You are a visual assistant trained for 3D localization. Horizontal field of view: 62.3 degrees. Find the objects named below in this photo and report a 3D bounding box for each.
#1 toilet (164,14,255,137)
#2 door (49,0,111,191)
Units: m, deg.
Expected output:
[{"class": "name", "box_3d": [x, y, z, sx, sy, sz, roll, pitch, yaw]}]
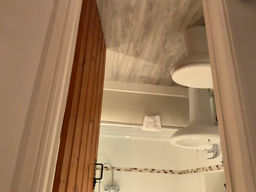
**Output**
[{"class": "toilet", "box_3d": [0.670, -0.140, 1.640, 0.670, 0.810, 0.380, 4, 158, -6]}, {"class": "door", "box_3d": [-0.250, 0.250, 1.330, 0.060, 1.940, 0.780, 0, 158, 5]}]
